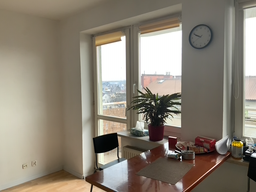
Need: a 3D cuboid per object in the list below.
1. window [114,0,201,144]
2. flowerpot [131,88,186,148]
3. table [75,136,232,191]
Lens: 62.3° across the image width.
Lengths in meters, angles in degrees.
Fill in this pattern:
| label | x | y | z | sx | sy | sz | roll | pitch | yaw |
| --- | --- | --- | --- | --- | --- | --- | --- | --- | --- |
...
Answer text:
| label | x | y | z | sx | sy | sz | roll | pitch | yaw |
| --- | --- | --- | --- | --- | --- | --- | --- | --- | --- |
| window | 0.320 | -0.250 | 2.560 | 0.950 | 1.430 | 0.390 | 3 | 6 | 38 |
| flowerpot | 0.380 | 0.230 | 2.640 | 0.480 | 0.620 | 0.500 | 3 | 6 | 39 |
| table | 0.280 | 0.970 | 1.750 | 0.720 | 0.940 | 1.160 | 4 | 6 | 42 |
